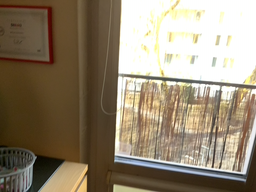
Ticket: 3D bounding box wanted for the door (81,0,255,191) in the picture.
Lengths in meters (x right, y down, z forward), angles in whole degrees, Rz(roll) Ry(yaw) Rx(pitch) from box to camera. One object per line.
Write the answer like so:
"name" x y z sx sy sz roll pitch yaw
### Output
"door" 0.200 0.060 0.940 0.830 2.510 0.090 7 16 9
